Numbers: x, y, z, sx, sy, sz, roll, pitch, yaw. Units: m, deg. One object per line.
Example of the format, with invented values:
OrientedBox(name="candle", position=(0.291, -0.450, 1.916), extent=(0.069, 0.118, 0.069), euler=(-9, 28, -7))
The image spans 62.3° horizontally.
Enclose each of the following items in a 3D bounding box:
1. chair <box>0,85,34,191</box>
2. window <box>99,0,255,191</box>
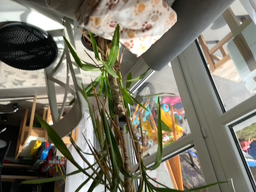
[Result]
OrientedBox(name="chair", position=(-1.430, 0.490, 2.090), extent=(0.590, 1.000, 0.570), euler=(-17, 146, 13))
OrientedBox(name="window", position=(0.370, 0.680, 1.350), extent=(0.040, 2.670, 2.670), euler=(11, 143, -26))
